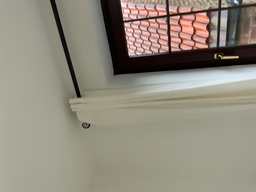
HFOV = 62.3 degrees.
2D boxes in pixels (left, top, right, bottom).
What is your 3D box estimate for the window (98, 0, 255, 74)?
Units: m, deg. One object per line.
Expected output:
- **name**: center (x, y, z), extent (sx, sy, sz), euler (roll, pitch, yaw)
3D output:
- **window**: center (0.590, -0.650, 1.320), extent (0.080, 1.590, 0.980), euler (-70, -25, -60)
